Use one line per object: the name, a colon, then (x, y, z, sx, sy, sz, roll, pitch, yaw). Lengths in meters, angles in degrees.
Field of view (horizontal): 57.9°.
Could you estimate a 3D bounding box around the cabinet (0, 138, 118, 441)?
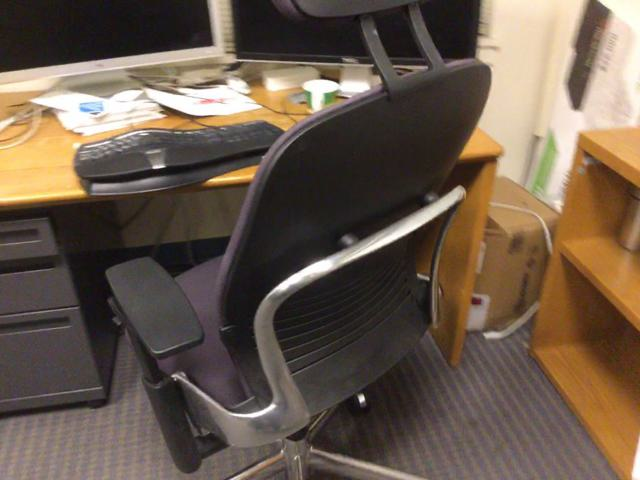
cabinet: (-0.810, 0.130, 1.560, 0.400, 0.660, 0.440, -6, 32, -13)
